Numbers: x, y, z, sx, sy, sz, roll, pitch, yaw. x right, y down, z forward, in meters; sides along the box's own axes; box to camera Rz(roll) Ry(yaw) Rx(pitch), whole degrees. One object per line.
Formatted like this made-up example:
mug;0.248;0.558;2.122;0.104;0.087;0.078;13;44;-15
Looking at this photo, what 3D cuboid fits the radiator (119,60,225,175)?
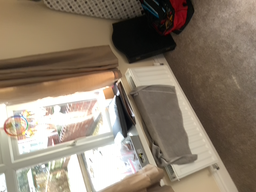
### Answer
radiator;0.370;0.120;1.890;0.950;0.590;0.150;67;149;22
